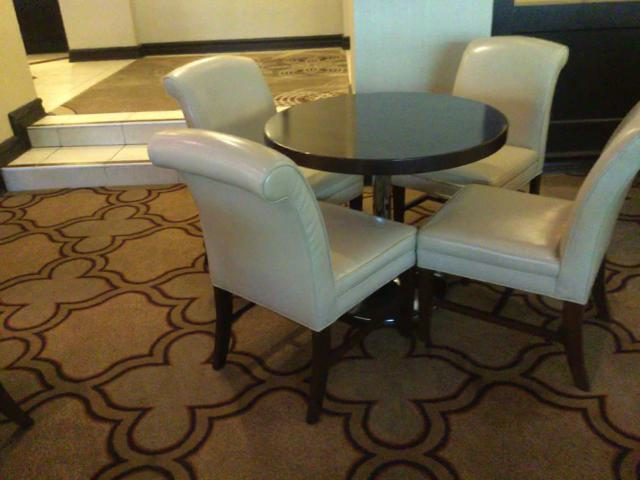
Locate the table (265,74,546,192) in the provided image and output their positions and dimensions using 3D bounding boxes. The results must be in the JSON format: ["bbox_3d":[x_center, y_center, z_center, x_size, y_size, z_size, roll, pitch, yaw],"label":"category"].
[{"bbox_3d":[0.250,-0.440,2.170,0.850,0.120,0.900,-4,27,1],"label":"table"}]
